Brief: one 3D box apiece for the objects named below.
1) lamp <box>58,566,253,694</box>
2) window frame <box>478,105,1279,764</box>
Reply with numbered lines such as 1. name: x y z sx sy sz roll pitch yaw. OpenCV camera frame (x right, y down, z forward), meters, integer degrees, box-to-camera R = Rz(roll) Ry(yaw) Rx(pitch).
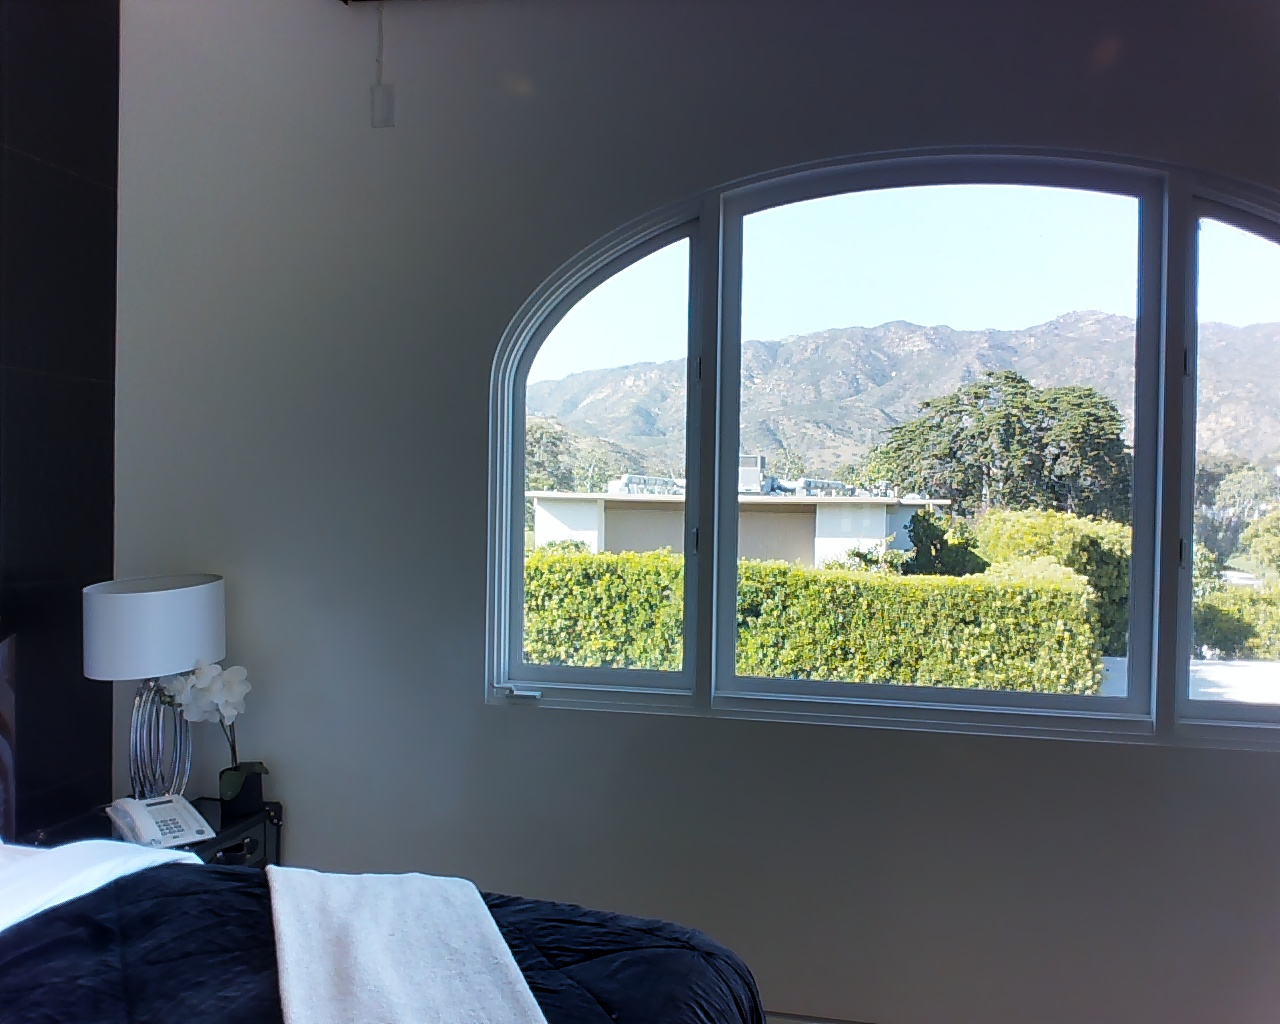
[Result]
1. lamp: -1.359 0.320 3.050 0.320 0.300 0.410 1 1 13
2. window frame: 0.800 -0.200 2.950 2.479 1.581 0.380 1 1 13
